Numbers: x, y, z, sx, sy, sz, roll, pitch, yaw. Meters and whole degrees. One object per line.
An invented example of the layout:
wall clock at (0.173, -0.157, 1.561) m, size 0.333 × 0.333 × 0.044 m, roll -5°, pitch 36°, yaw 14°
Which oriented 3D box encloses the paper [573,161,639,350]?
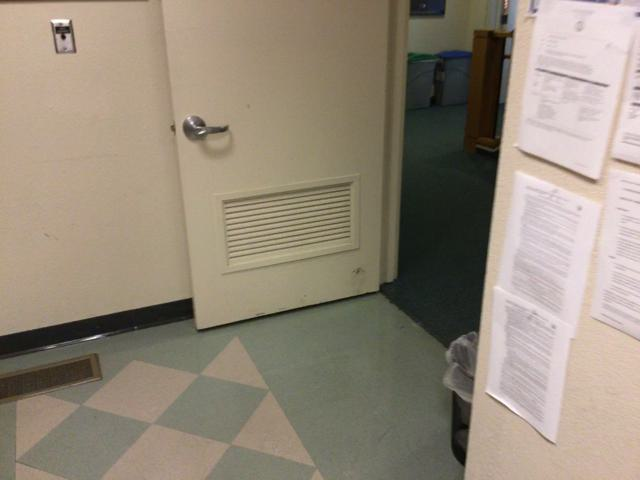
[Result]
paper at (0.530, 0.040, 0.940) m, size 0.020 × 0.290 × 0.230 m, roll -12°, pitch 25°, yaw -22°

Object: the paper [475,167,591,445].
paper at (0.430, 0.140, 1.220) m, size 0.020 × 0.550 × 0.230 m, roll -12°, pitch 25°, yaw -22°
